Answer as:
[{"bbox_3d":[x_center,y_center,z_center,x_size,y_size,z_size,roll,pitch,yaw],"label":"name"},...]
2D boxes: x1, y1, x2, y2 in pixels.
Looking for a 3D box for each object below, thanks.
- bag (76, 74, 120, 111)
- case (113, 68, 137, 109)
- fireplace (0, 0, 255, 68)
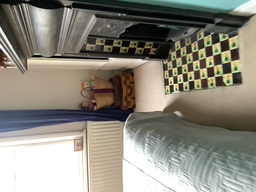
[{"bbox_3d":[-0.420,-0.050,2.950,0.190,0.560,0.470,166,102,-68],"label":"bag"},{"bbox_3d":[-0.050,-0.090,3.020,0.380,0.190,0.530,166,102,-68],"label":"case"},{"bbox_3d":[-0.090,-0.490,1.520,1.200,1.310,0.370,174,94,-69],"label":"fireplace"}]
